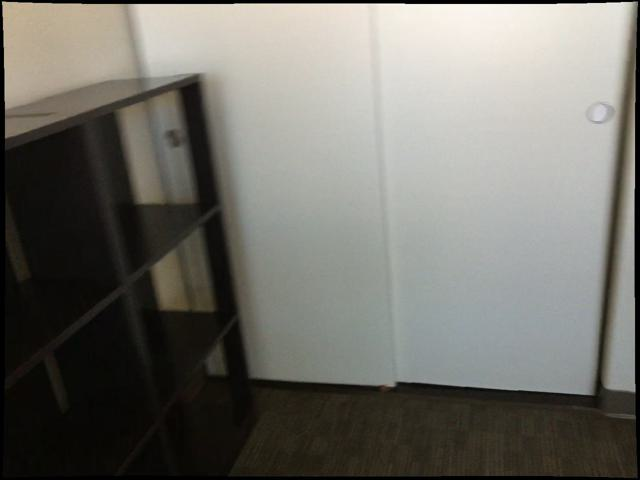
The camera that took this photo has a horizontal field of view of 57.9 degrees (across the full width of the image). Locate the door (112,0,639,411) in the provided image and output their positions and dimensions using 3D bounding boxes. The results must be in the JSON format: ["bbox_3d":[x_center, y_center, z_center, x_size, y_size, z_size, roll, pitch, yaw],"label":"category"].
[{"bbox_3d":[0.180,-0.140,1.850,1.489,1.431,0.140,0,24,17],"label":"door"}]
